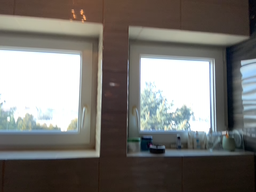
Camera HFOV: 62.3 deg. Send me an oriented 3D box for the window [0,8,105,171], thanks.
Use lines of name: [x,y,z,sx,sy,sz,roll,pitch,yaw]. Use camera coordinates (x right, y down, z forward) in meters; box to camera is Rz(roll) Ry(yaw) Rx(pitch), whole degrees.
window: [-0.540,-0.030,1.190,0.780,0.810,0.240,2,-5,-10]

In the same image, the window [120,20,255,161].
window: [0.370,-0.020,1.350,0.800,0.790,0.200,2,-5,-10]
